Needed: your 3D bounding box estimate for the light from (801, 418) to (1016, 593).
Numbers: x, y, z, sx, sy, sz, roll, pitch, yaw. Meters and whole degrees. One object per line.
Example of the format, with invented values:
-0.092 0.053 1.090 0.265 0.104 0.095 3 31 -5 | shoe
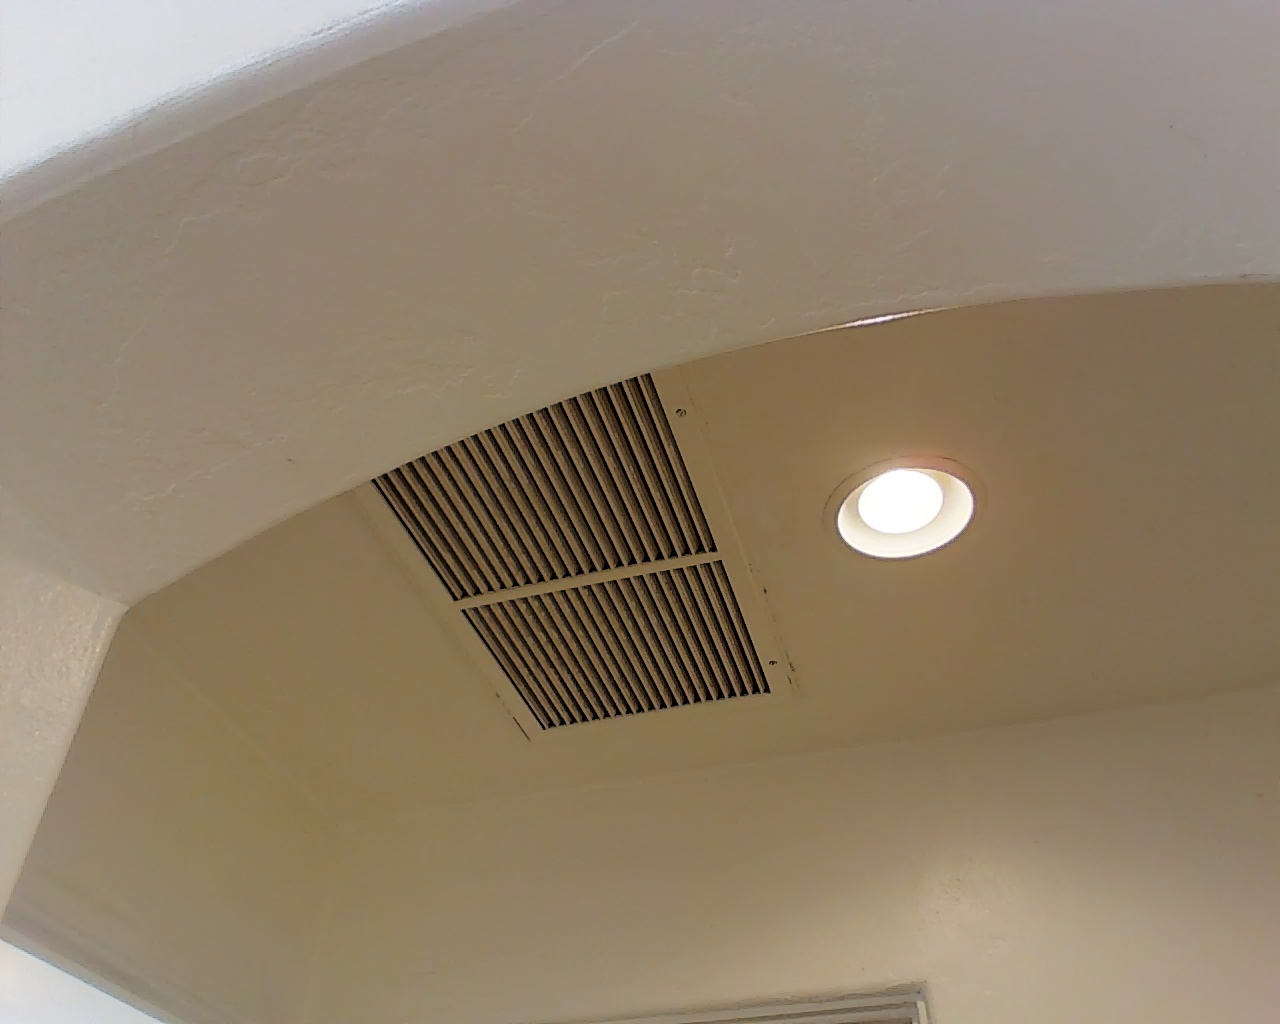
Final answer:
0.320 0.000 1.260 0.220 0.020 0.230 -11 -43 13 | light
